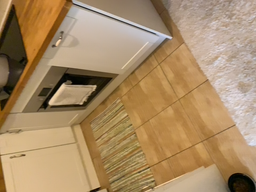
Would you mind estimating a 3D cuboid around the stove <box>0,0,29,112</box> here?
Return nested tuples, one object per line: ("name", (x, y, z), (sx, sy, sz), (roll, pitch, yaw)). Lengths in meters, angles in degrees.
("stove", (-0.870, -0.270, 1.500), (0.560, 0.020, 0.560), (-41, 64, 35))
